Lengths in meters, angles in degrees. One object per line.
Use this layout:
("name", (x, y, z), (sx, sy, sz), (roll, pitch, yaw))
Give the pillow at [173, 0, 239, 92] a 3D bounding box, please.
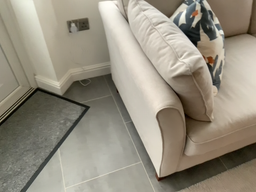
("pillow", (0.380, -0.310, 1.160), (0.210, 0.470, 0.390), (-5, 65, 9))
